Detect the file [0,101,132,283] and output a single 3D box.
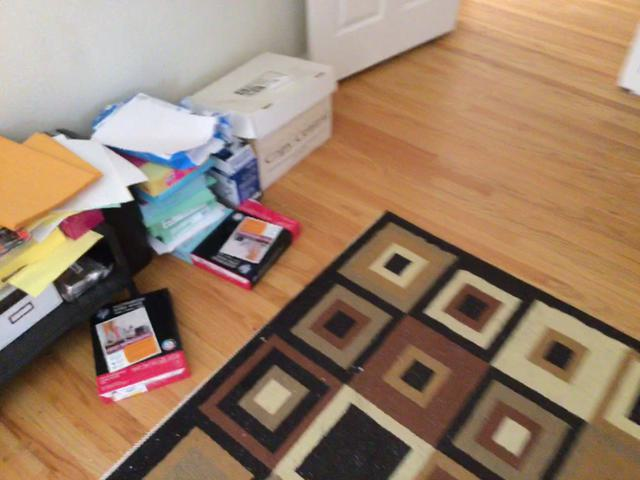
[{"bbox_3d":[-0.750,-0.140,1.400,0.420,0.130,0.360,26,52,27],"label":"file"}]
